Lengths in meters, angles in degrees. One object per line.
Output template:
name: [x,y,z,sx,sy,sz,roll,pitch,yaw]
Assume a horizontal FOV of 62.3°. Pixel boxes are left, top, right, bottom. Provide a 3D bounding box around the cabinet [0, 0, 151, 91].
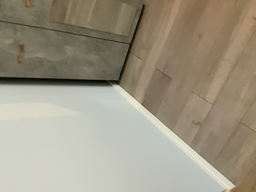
cabinet: [-0.810,-0.560,1.550,0.570,1.860,0.850,42,120,40]
